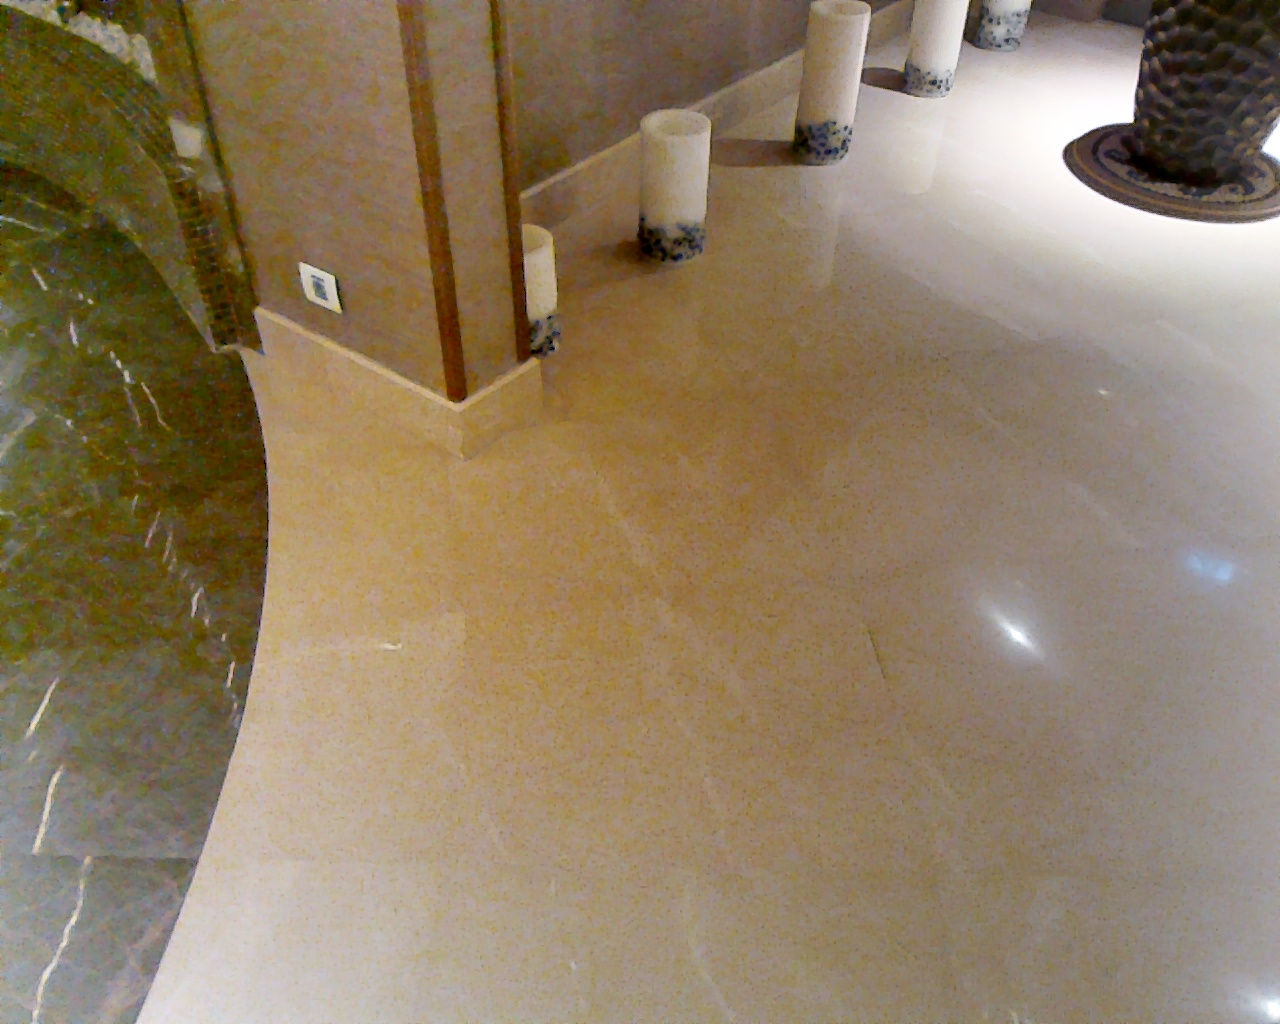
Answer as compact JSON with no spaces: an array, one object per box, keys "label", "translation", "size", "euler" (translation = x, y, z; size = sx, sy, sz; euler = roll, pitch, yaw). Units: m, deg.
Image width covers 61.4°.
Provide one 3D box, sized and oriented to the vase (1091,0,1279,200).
[{"label":"vase","translation":[1.960,-1.580,3.590],"size":[0.510,0.810,0.500],"euler":[26,48,25]}]
